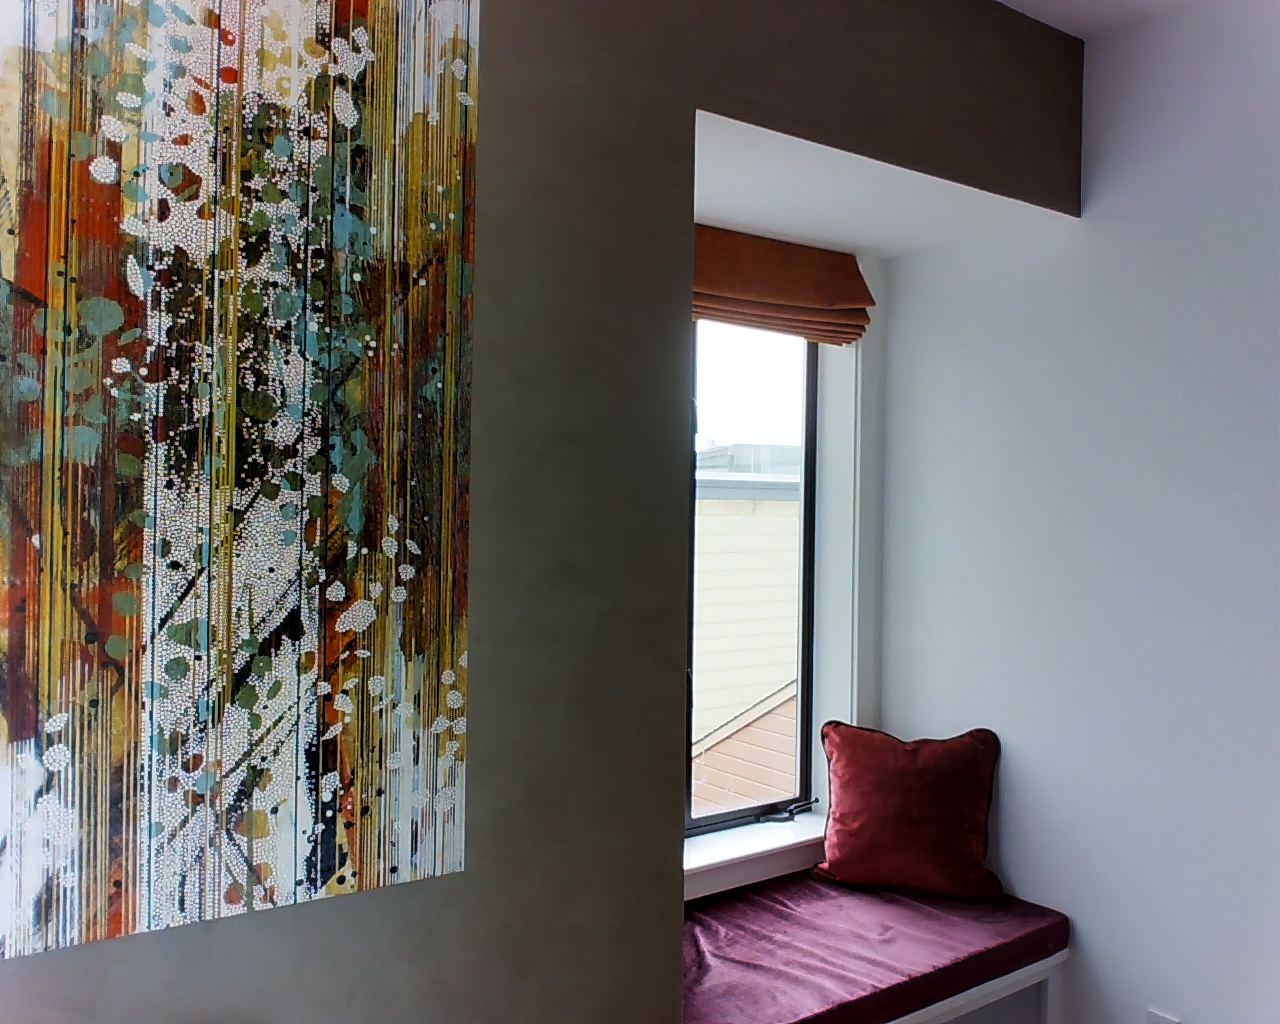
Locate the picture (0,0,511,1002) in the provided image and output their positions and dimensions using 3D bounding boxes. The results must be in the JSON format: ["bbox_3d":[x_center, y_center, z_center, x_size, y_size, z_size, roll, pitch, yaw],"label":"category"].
[{"bbox_3d":[-0.550,-0.150,1.450,0.780,1.470,0.070,1,0,-35],"label":"picture"}]
